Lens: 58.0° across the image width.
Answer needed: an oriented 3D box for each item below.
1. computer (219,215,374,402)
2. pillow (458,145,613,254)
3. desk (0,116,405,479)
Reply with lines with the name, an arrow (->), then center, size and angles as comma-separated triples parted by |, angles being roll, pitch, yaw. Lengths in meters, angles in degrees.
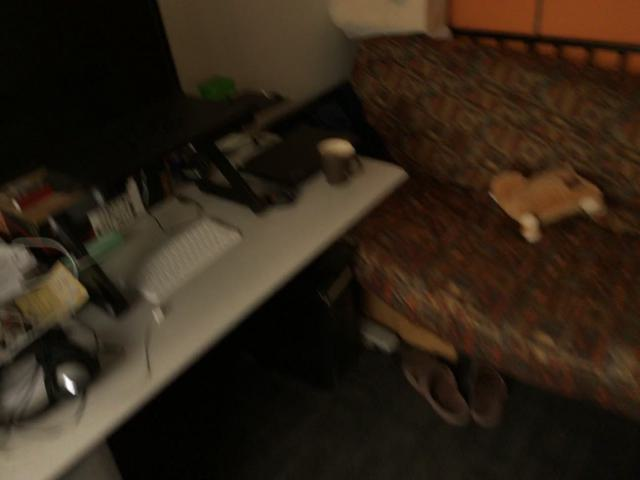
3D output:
computer -> -0.060, 0.210, 1.860 | 0.370, 0.440, 0.260 | 17, 40, 31
pillow -> 0.710, -0.150, 1.910 | 0.380, 0.140, 0.350 | 17, 40, 31
desk -> -0.470, 0.300, 1.490 | 0.740, 0.630, 1.510 | 17, 40, 31
